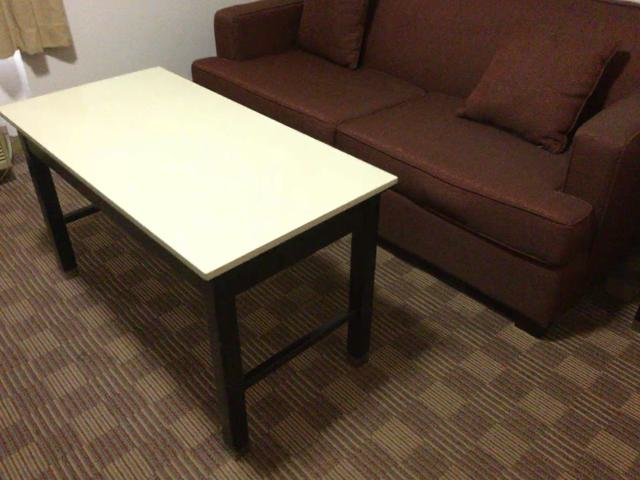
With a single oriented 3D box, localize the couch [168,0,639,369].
[{"bbox_3d":[0.340,-0.530,2.230,0.890,0.840,1.860,-28,43,-36],"label":"couch"}]
